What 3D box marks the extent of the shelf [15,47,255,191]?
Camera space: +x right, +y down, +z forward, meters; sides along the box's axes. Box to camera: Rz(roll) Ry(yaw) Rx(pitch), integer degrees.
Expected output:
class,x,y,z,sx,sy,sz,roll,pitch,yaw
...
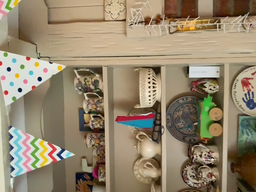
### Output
class,x,y,z,sx,sy,sz,roll,pitch,yaw
shelf,0.500,0.430,1.200,0.460,2.090,1.310,-19,-70,-84
